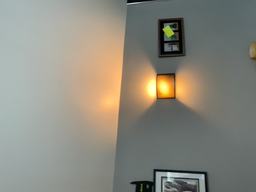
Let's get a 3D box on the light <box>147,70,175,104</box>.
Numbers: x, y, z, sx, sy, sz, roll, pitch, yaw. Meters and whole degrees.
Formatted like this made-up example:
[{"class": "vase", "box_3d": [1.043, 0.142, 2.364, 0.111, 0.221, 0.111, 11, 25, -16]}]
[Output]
[{"class": "light", "box_3d": [0.310, -0.080, 1.960, 0.220, 0.230, 0.240, 59, -148, -66]}]
